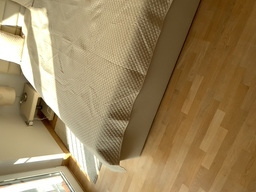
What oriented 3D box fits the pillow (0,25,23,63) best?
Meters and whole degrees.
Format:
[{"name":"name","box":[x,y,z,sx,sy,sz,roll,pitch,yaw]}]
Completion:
[{"name":"pillow","box":[-1.530,-0.640,2.600,0.210,0.370,0.410,32,124,40]}]
